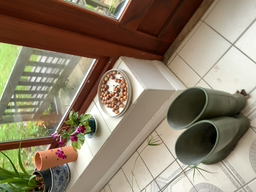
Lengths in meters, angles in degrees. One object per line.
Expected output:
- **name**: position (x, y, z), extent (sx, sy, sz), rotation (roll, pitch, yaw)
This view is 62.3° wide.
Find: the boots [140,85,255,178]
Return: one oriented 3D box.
- **boots**: position (0.290, 0.130, 0.880), extent (0.210, 0.350, 0.260), rotation (53, 123, 32)
